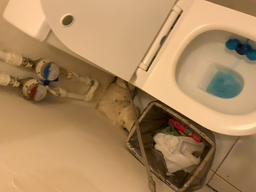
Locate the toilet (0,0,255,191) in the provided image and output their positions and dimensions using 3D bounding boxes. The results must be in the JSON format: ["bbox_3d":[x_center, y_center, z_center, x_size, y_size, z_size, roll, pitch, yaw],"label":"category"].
[{"bbox_3d":[0.170,-0.120,0.700,0.680,0.840,0.390,35,95,25],"label":"toilet"}]
